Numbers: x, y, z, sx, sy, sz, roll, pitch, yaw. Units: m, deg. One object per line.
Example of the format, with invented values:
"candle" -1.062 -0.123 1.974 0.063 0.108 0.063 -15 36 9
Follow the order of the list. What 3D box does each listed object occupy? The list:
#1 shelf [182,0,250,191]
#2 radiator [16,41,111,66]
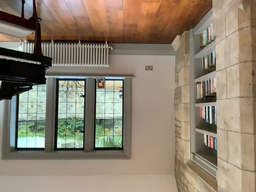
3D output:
"shelf" 1.090 -0.030 2.850 0.440 2.160 1.050 1 177 -2
"radiator" -1.180 -0.790 3.940 1.710 0.410 0.170 1 177 0
